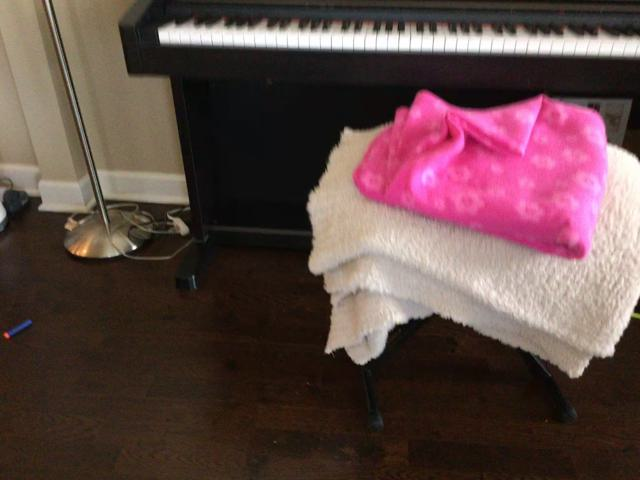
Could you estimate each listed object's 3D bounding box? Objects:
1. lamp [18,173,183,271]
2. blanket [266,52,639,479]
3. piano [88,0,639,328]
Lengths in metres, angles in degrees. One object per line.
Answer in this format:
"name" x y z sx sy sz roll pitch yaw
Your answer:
"lamp" -0.690 -0.070 1.880 0.370 0.110 0.370 3 36 7
"blanket" 0.280 0.030 1.160 0.640 0.640 0.510 3 36 6
"piano" 0.290 -0.390 1.440 1.460 1.070 0.510 3 36 7
